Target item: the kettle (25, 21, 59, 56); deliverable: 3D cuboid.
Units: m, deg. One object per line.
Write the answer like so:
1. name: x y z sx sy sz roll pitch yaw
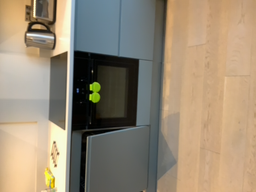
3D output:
1. kettle: -0.770 -0.500 1.890 0.240 0.240 0.230 5 94 57
